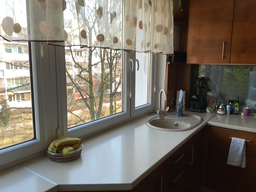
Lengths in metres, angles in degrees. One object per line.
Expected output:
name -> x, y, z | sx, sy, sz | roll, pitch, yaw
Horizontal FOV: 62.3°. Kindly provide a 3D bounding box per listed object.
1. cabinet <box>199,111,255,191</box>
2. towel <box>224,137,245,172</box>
cabinet -> 1.250, 0.700, 2.440 | 0.620, 0.870, 0.660 | 6, 10, 33
towel -> 1.060, 0.580, 2.110 | 0.160, 0.300, 0.050 | 7, 10, 33
